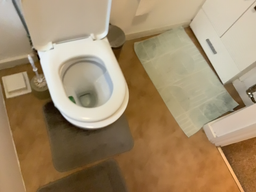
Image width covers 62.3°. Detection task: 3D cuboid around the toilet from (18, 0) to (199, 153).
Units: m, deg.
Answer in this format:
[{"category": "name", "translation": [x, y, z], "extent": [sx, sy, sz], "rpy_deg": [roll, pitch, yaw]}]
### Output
[{"category": "toilet", "translation": [-0.210, -0.180, 1.020], "extent": [0.400, 0.890, 0.670], "rpy_deg": [-19, 74, -20]}]
